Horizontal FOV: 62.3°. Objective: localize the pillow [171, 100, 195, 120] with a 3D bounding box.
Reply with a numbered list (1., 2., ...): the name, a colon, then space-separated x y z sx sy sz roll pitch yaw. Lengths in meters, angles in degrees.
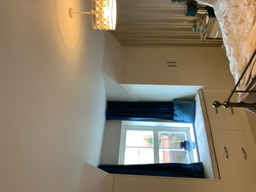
1. pillow: 1.020 0.260 3.960 0.180 0.410 0.350 32 -121 -87
